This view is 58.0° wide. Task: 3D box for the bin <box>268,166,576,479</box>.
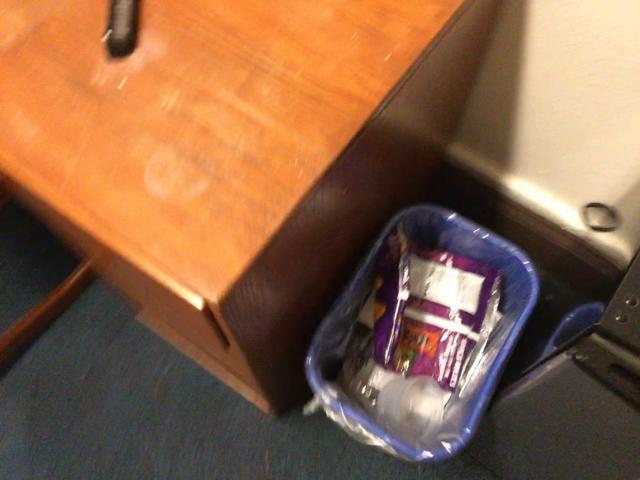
[{"bbox_3d":[0.160,0.180,1.020,0.290,0.370,0.400,32,69,14],"label":"bin"}]
